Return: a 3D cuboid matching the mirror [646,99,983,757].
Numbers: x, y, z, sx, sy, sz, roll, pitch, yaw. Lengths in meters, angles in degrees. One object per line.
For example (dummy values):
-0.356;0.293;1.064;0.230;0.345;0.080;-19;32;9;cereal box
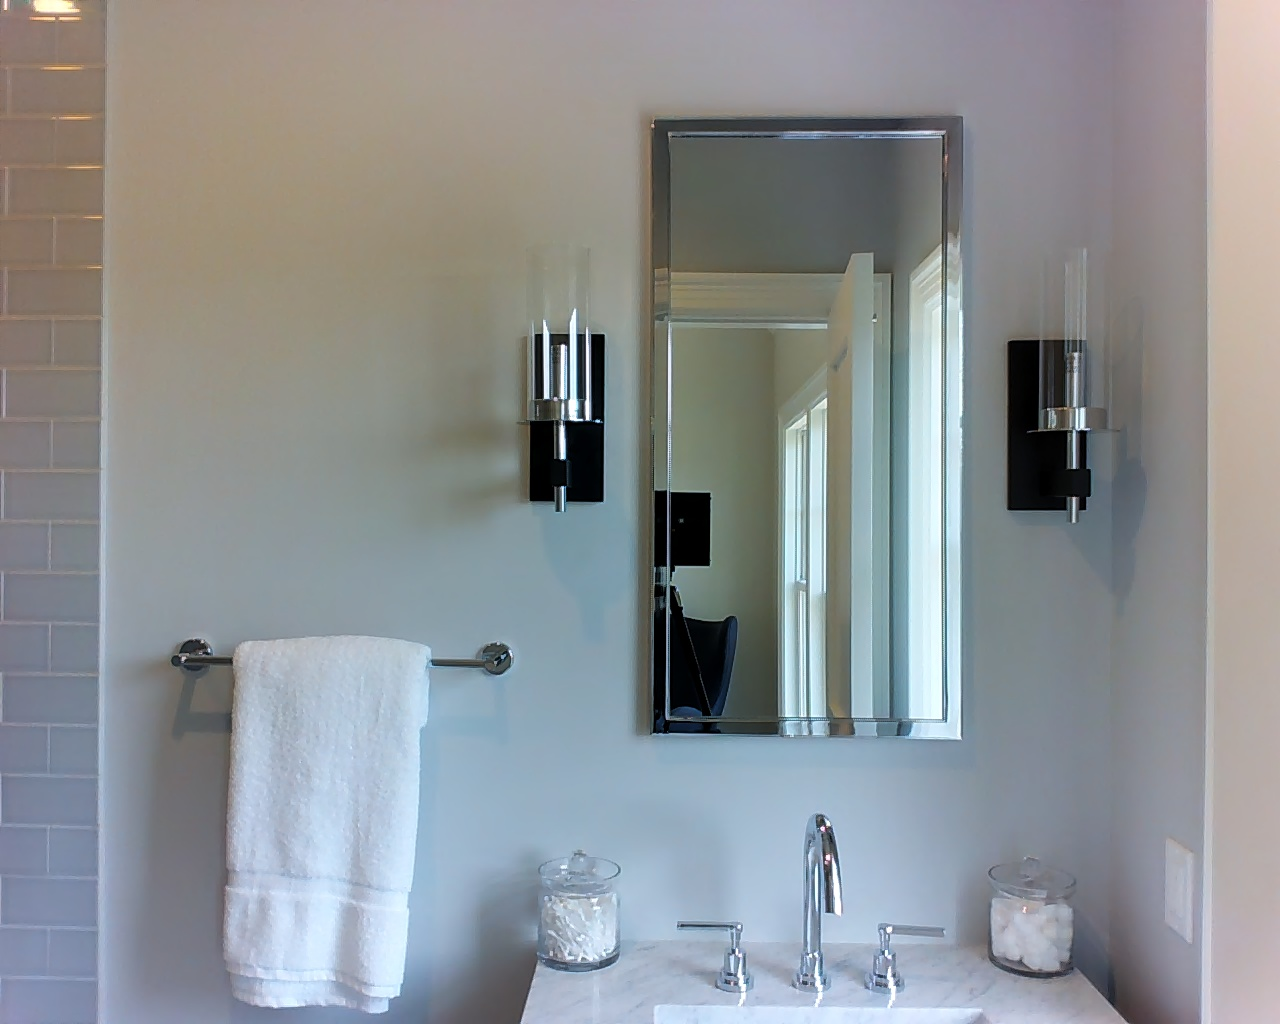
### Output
0.250;-0.120;1.580;0.480;0.940;0.080;0;0;1;mirror
